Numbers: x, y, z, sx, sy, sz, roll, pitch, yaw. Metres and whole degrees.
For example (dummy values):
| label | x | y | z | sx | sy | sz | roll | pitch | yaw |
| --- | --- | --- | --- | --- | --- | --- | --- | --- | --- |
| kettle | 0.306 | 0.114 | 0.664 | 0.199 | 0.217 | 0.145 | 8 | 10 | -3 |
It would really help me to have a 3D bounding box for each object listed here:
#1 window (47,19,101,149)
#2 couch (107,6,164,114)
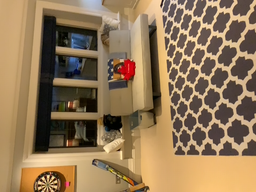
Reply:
| label | x | y | z | sx | sy | sz | roll | pitch | yaw |
| --- | --- | --- | --- | --- | --- | --- | --- | --- | --- |
| window | -1.110 | -0.310 | 4.540 | 0.130 | 1.040 | 2.750 | 143 | 127 | -67 |
| couch | 0.070 | -0.590 | 3.930 | 0.890 | 0.700 | 1.700 | 142 | 128 | -66 |
